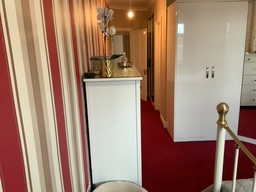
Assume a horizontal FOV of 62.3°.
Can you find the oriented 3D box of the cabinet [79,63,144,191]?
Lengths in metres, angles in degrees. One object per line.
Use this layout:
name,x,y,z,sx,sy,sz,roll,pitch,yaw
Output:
cabinet,-0.130,0.320,2.420,0.530,1.280,1.060,-2,13,0
